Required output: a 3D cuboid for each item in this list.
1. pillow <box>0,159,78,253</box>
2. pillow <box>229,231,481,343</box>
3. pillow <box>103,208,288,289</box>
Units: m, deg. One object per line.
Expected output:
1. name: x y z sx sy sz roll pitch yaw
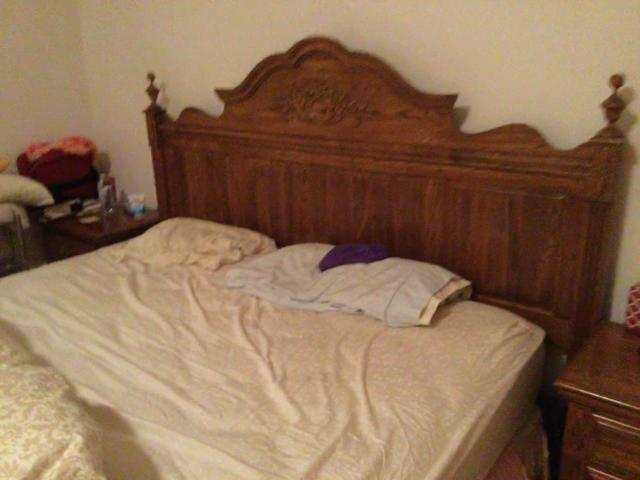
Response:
1. pillow: -1.510 -0.150 2.580 0.440 0.360 0.620 8 16 41
2. pillow: 0.100 0.120 1.920 0.730 0.160 0.410 8 16 40
3. pillow: -0.500 0.010 2.340 0.530 0.170 0.500 8 16 40
